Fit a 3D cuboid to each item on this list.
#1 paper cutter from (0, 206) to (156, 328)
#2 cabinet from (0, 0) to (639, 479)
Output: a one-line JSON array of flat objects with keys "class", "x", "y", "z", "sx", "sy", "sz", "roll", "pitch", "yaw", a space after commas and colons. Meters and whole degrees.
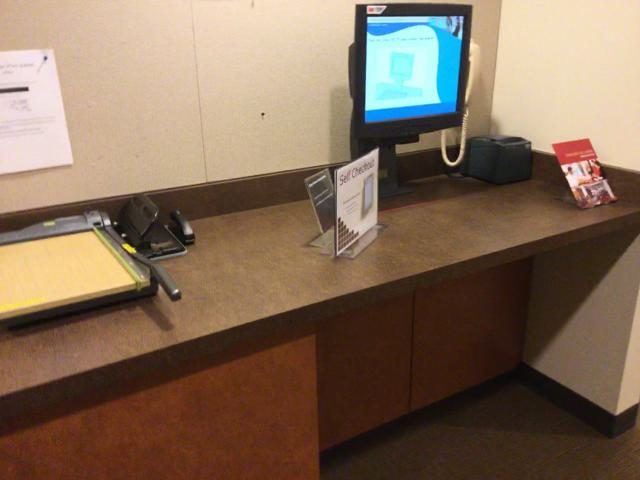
[{"class": "paper cutter", "x": -0.600, "y": 0.040, "z": 1.270, "sx": 0.340, "sy": 0.110, "sz": 0.390, "roll": -12, "pitch": 21, "yaw": -34}, {"class": "cabinet", "x": -0.840, "y": 0.210, "z": 0.930, "sx": 3.960, "sy": 1.690, "sz": 0.800, "roll": -12, "pitch": 21, "yaw": -34}]
